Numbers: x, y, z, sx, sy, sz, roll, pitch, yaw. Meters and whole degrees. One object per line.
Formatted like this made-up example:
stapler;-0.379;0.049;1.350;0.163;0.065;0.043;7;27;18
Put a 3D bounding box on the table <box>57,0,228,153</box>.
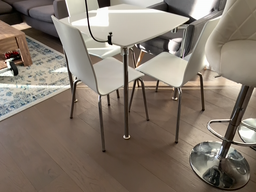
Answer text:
table;0.120;-0.280;1.840;0.920;0.760;0.930;29;45;33
